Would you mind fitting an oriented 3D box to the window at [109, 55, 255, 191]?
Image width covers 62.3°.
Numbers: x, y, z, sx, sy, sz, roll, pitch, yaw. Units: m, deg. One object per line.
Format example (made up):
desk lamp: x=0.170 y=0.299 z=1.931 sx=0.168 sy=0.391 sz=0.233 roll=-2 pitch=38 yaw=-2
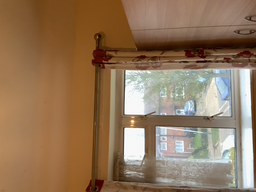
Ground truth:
window: x=0.440 y=0.200 z=1.730 sx=0.090 sy=1.170 sz=1.040 roll=43 pitch=-133 yaw=-80
